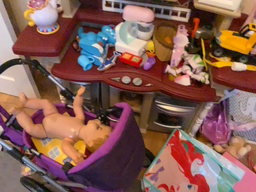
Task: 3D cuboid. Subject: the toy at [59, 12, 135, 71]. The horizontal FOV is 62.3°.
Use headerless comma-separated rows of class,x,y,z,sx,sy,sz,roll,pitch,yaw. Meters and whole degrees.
toy,-0.120,-0.250,0.940,0.270,0.070,0.280,8,50,2
